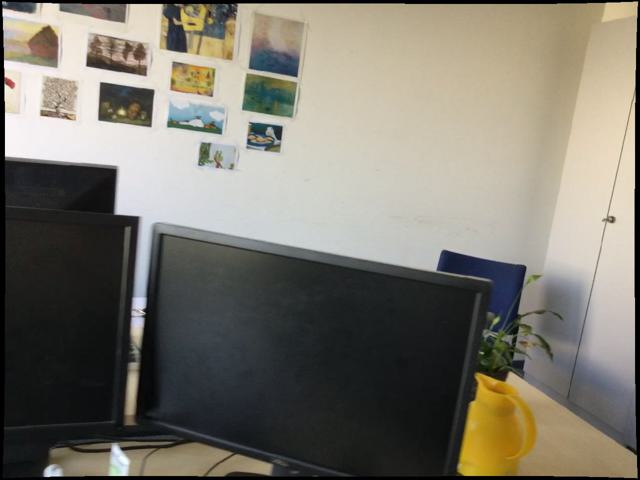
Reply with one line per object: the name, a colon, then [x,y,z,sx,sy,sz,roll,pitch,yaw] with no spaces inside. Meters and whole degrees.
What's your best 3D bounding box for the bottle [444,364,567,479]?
bottle: [0.370,0.400,1.200,0.190,0.180,0.220,8,12,9]
